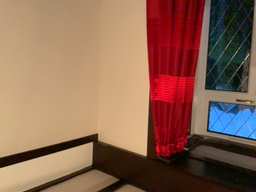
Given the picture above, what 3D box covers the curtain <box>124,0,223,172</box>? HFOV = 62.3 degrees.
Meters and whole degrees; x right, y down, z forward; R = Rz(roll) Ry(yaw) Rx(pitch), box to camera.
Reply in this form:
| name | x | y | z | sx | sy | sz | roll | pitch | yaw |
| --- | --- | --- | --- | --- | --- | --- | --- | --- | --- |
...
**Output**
| name | x | y | z | sx | sy | sz | roll | pitch | yaw |
| --- | --- | --- | --- | --- | --- | --- | --- | --- | --- |
| curtain | 0.410 | -0.400 | 1.720 | 0.470 | 1.690 | 0.790 | 6 | -173 | 33 |
